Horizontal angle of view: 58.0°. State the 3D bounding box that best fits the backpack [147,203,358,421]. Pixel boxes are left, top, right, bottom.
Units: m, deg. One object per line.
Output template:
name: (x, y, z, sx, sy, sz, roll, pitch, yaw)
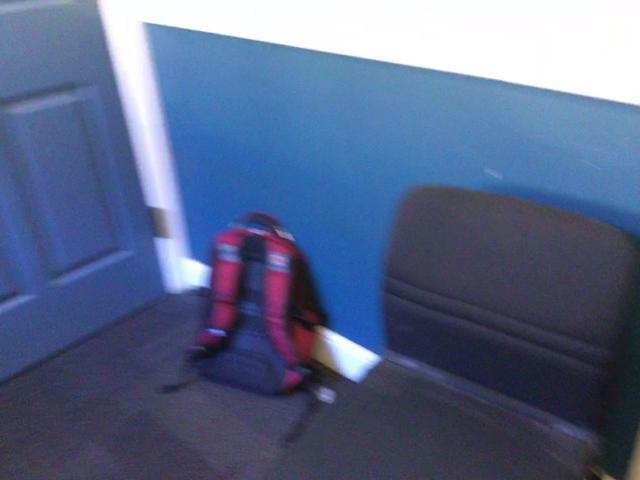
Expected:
backpack: (-0.220, 0.200, 1.830, 0.500, 0.500, 0.270, 19, 8, 30)
